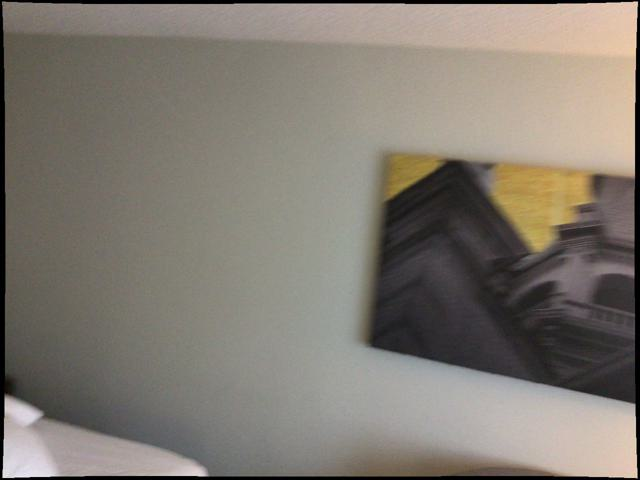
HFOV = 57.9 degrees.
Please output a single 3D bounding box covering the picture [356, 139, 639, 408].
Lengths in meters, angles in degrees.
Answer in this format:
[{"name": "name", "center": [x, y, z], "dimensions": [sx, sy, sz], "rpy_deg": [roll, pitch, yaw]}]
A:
[{"name": "picture", "center": [0.979, 0.140, 2.210], "dimensions": [1.599, 0.871, 0.110], "rpy_deg": [9, 6, 17]}]
